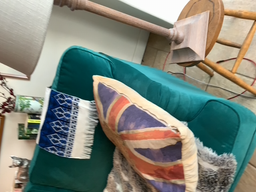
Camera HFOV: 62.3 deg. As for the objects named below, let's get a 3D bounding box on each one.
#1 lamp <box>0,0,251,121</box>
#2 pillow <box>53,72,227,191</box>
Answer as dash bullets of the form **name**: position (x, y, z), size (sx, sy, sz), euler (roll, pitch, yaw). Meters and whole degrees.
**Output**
- **lamp**: position (-0.110, -0.270, 0.700), size (0.460, 0.860, 0.520), euler (34, 112, 55)
- **pillow**: position (0.040, 0.170, 0.940), size (0.560, 0.480, 0.220), euler (26, 144, 44)
